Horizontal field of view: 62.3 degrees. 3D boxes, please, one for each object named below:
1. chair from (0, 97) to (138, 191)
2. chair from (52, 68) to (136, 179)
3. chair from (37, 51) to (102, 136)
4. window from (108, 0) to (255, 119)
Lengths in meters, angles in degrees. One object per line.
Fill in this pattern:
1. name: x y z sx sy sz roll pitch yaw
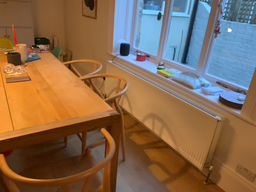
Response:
1. chair: -0.410 0.510 1.240 0.620 0.750 0.600 -11 29 -33
2. chair: -0.350 0.200 1.970 0.520 0.740 0.610 -9 28 -30
3. chair: -0.690 -0.070 2.480 0.530 0.750 0.620 -9 28 -30
4. window: 0.580 -1.030 2.230 0.460 1.620 2.240 -10 29 -32
